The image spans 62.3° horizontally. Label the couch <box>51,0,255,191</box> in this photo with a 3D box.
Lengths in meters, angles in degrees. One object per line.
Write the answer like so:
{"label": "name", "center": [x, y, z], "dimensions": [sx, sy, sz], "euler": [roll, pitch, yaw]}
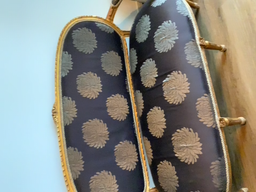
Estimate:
{"label": "couch", "center": [0.110, 0.010, 1.470], "dimensions": [0.810, 1.000, 1.620], "euler": [-27, 66, 54]}
